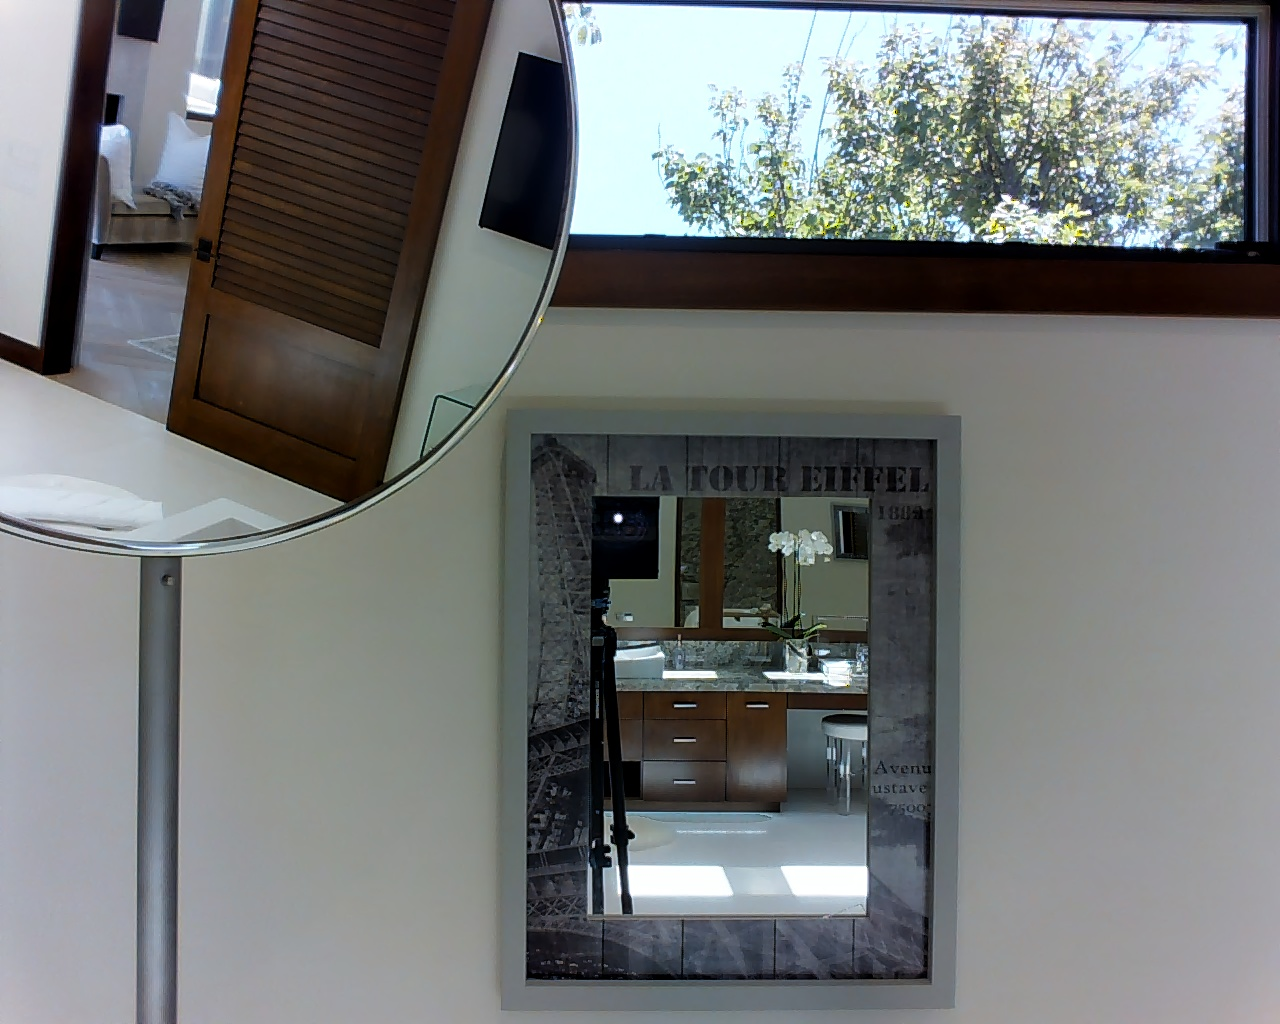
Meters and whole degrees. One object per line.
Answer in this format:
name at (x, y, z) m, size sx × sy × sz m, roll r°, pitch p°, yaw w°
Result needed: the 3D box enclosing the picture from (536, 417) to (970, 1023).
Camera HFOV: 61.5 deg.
picture at (0.120, 0.220, 1.140) m, size 0.450 × 0.630 × 0.040 m, roll 1°, pitch -1°, yaw -3°
